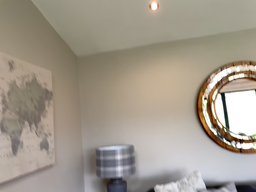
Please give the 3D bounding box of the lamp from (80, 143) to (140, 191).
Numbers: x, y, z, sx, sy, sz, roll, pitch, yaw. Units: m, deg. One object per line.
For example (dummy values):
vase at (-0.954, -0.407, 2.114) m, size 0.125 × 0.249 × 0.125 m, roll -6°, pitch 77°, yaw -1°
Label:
lamp at (-0.170, 0.840, 2.250) m, size 0.450 × 0.590 × 0.500 m, roll -6°, pitch -7°, yaw 14°

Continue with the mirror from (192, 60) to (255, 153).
mirror at (1.270, 0.100, 2.310) m, size 0.990 × 0.950 × 0.100 m, roll -6°, pitch -7°, yaw 11°
